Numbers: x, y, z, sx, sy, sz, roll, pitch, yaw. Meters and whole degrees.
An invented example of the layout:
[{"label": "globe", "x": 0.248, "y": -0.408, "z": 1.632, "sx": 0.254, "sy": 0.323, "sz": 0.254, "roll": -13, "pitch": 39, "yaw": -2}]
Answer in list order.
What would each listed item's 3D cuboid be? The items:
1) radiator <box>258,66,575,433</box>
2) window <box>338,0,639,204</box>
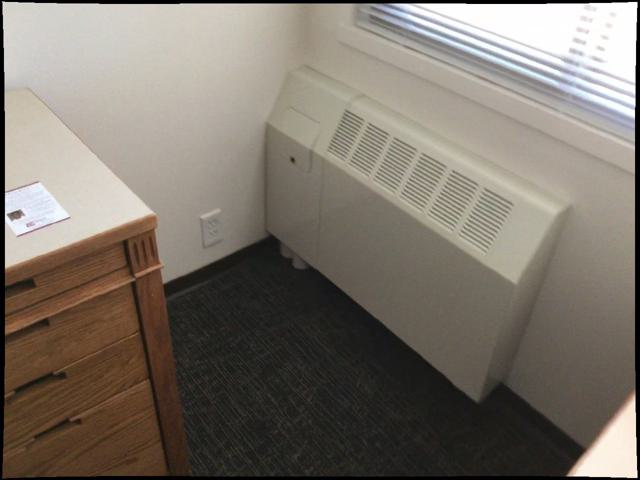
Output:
[{"label": "radiator", "x": 0.160, "y": -0.010, "z": 1.600, "sx": 0.180, "sy": 0.641, "sz": 0.890, "roll": -25, "pitch": 46, "yaw": -32}, {"label": "window", "x": 0.549, "y": -0.331, "z": 1.100, "sx": 0.190, "sy": 0.351, "sz": 1.329, "roll": -25, "pitch": 46, "yaw": -32}]
